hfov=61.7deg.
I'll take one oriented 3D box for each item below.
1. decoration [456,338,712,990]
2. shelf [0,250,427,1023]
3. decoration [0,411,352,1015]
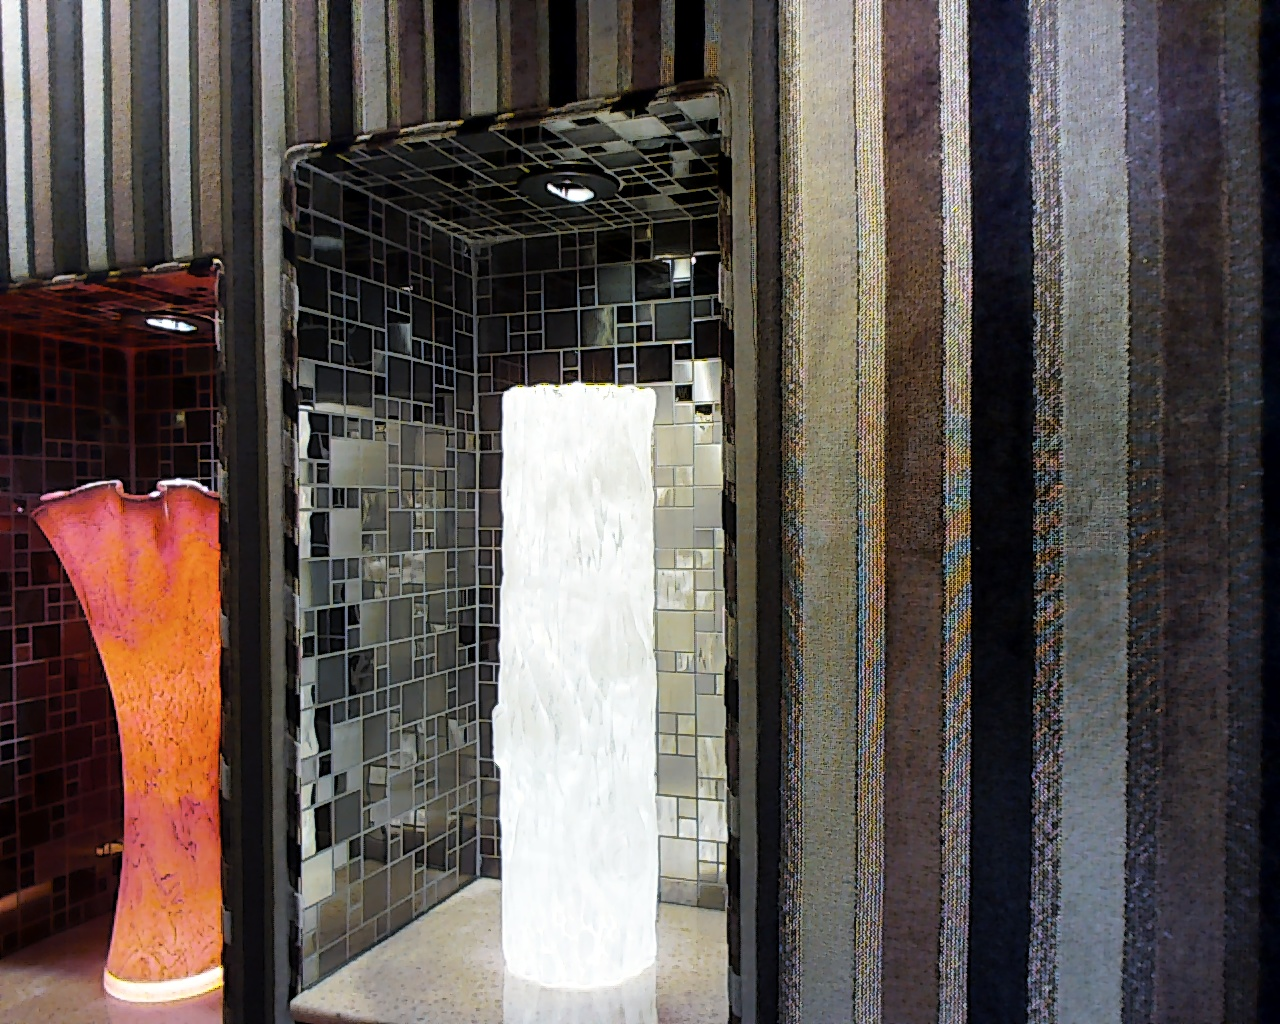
[{"bbox_3d":[-0.060,0.140,1.120,0.210,0.600,0.170,0,0,44],"label":"decoration"},{"bbox_3d":[-0.580,0.150,1.340,0.500,0.830,0.360,0,0,21],"label":"shelf"},{"bbox_3d":[-0.580,0.210,1.310,0.340,0.630,0.280,0,0,21],"label":"decoration"}]
